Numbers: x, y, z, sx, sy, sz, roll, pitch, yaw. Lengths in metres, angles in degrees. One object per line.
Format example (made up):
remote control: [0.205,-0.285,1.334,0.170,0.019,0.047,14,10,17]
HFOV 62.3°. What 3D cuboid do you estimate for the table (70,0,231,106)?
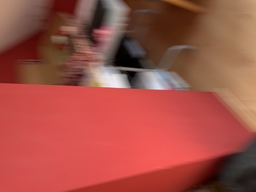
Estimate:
table: [0.080,-0.510,1.750,0.670,0.750,0.980,-61,42,36]
